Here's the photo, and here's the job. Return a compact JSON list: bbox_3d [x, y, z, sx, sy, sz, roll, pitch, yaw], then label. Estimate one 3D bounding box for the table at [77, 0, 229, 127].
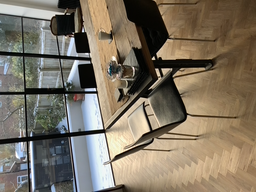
[{"bbox_3d":[0.050,-0.810,2.350,0.990,0.800,2.010,-47,51,52],"label":"table"}]
